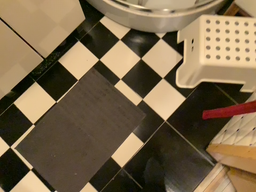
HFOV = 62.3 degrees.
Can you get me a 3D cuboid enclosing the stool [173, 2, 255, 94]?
[{"bbox_3d":[0.490,-0.220,1.060,0.460,0.260,0.330,6,80,1],"label":"stool"}]
